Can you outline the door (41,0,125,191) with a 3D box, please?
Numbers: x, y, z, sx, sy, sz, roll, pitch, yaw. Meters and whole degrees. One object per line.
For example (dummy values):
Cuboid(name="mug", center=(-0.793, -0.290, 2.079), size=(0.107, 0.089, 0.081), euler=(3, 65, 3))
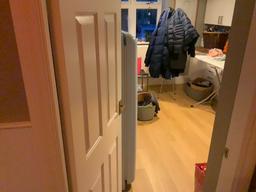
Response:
Cuboid(name="door", center=(-0.160, 0.090, 1.270), size=(0.100, 2.030, 0.780), euler=(6, 23, 12))
